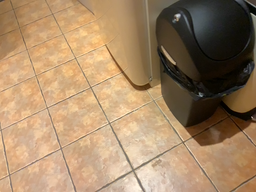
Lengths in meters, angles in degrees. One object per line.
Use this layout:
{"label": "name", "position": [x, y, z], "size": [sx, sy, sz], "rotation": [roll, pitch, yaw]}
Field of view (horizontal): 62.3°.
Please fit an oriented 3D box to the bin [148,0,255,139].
{"label": "bin", "position": [0.330, -0.140, 1.040], "size": [0.300, 0.690, 0.380], "rotation": [-26, 59, -9]}
